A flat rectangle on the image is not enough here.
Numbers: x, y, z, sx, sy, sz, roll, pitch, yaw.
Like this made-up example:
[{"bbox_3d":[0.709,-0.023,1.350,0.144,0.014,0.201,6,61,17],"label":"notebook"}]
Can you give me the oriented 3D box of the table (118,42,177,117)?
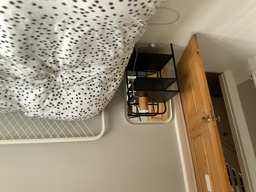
[{"bbox_3d":[0.190,-0.160,2.380,0.450,0.700,0.440,1,161,-18],"label":"table"}]
